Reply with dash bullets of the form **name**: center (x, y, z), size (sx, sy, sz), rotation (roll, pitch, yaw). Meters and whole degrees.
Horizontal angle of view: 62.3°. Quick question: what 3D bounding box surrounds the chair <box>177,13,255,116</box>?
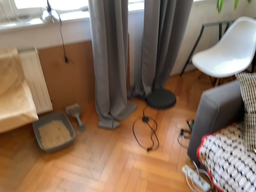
- **chair**: center (0.940, -0.330, 2.180), size (0.580, 0.830, 0.460), rotation (-18, 41, -23)

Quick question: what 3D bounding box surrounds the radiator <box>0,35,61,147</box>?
- **radiator**: center (-1.040, 0.010, 1.760), size (0.770, 0.850, 0.200), rotation (-19, 42, -24)
